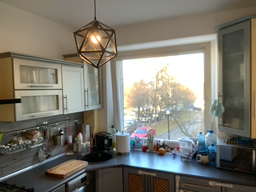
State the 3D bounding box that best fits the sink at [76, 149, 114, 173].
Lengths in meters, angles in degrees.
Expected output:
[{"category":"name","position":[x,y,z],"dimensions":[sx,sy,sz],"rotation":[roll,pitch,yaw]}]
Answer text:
[{"category":"sink","position":[-0.440,0.840,2.770],"dimensions":[0.450,0.160,0.340],"rotation":[-2,2,-16]}]
